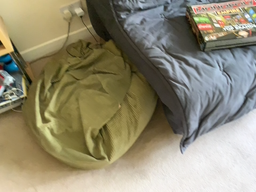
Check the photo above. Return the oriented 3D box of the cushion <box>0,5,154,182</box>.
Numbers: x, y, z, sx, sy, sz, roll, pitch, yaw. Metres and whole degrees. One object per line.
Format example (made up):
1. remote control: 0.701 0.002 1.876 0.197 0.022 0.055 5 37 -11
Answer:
1. cushion: -0.360 -0.090 1.250 0.630 0.290 0.870 -26 59 -15

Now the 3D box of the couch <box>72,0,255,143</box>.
1. couch: 0.270 -0.560 1.190 0.920 0.800 1.100 -25 58 -15
